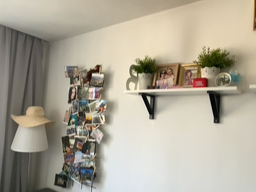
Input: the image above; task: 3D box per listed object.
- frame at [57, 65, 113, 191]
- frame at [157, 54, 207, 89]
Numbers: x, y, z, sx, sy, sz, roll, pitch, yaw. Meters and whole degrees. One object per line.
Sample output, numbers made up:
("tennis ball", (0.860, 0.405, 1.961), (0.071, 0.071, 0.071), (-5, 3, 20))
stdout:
("frame", (-0.440, 0.320, 2.130), (0.570, 1.210, 0.120), (-1, -7, 38))
("frame", (0.390, -0.170, 1.560), (0.340, 0.220, 0.090), (0, -6, 34))
